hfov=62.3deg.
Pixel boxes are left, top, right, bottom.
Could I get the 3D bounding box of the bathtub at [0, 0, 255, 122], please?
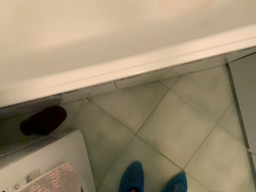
[{"bbox_3d":[-0.100,-0.380,0.900,1.640,0.570,0.700,-14,88,-1],"label":"bathtub"}]
